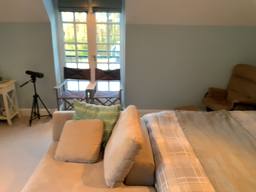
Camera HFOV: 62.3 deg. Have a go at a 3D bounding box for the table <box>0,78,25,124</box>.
[{"bbox_3d":[-2.190,0.070,3.660,0.520,0.690,0.430,0,18,-2],"label":"table"}]

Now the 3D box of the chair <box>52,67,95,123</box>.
[{"bbox_3d":[-0.950,-0.040,3.870,0.600,0.890,0.560,0,18,-2],"label":"chair"}]

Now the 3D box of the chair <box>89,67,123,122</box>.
[{"bbox_3d":[-0.380,-0.040,3.900,0.550,0.890,0.560,0,18,-2],"label":"chair"}]

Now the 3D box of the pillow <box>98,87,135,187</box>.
[{"bbox_3d":[-0.090,0.390,2.080,0.240,0.490,0.820,-5,53,6],"label":"pillow"}]
